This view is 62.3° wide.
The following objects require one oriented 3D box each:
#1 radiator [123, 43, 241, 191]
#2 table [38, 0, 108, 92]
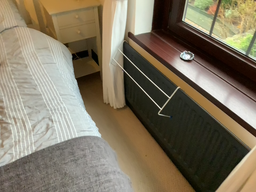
[{"bbox_3d":[0.220,0.130,1.390,0.050,0.600,0.920,-21,47,-23],"label":"radiator"},{"bbox_3d":[-0.490,-0.520,1.990,0.430,0.760,0.430,-21,47,-23],"label":"table"}]
